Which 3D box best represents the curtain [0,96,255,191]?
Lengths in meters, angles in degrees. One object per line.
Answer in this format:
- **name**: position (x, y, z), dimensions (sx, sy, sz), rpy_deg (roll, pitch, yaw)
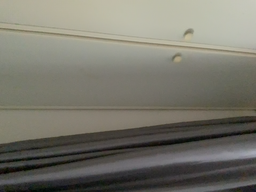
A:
- **curtain**: position (0.120, 0.240, 0.850), dimensions (0.290, 1.910, 0.360), rpy_deg (109, 155, -43)
